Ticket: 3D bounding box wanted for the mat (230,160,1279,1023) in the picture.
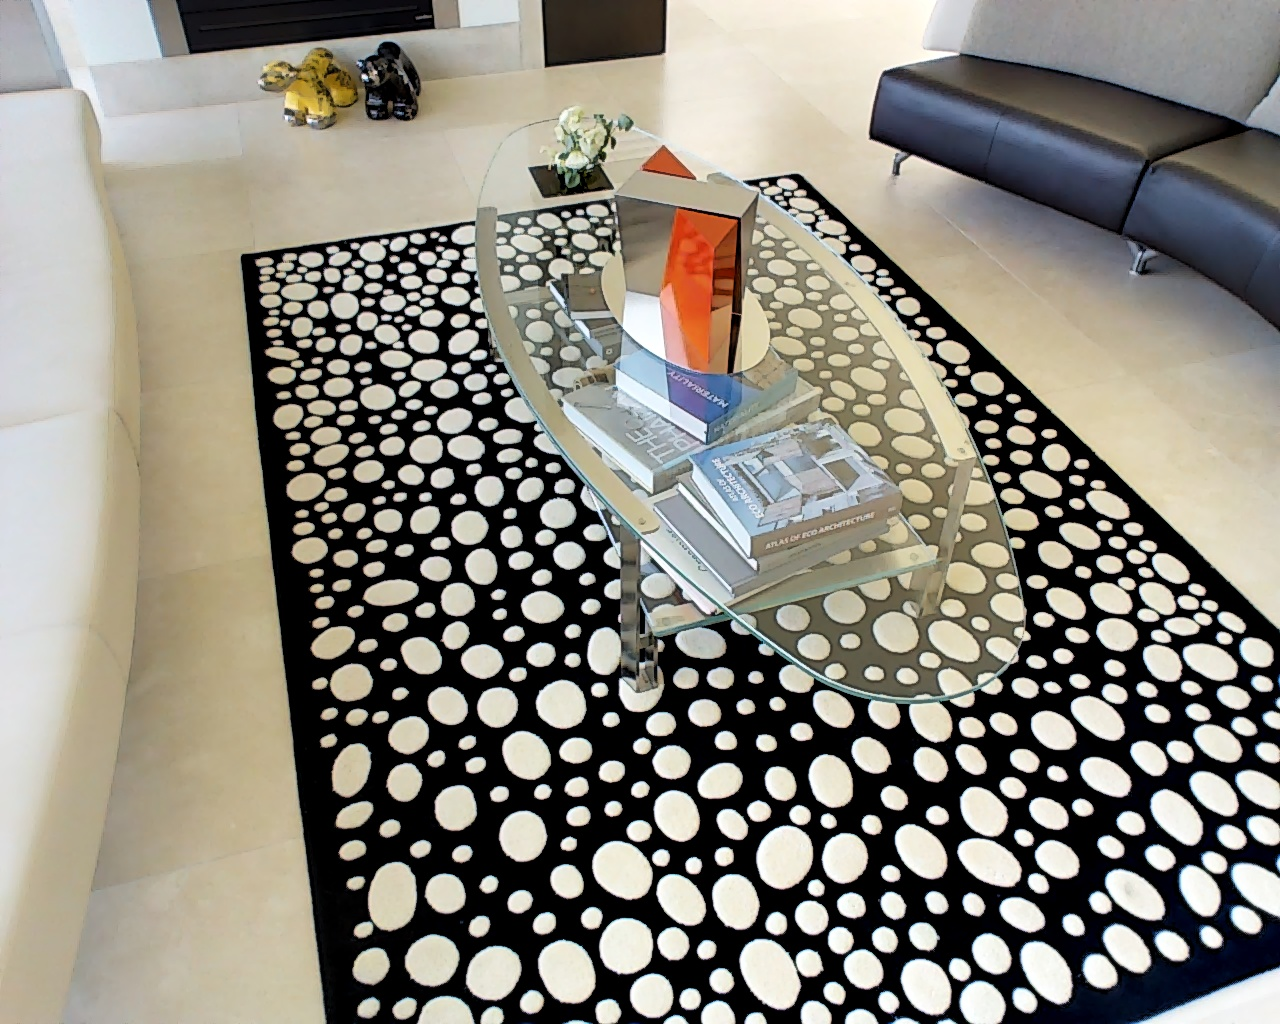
[{"bbox_3d":[0.110,-0.080,2.410,1.870,0.100,2.780,-12,43,-13],"label":"mat"}]
